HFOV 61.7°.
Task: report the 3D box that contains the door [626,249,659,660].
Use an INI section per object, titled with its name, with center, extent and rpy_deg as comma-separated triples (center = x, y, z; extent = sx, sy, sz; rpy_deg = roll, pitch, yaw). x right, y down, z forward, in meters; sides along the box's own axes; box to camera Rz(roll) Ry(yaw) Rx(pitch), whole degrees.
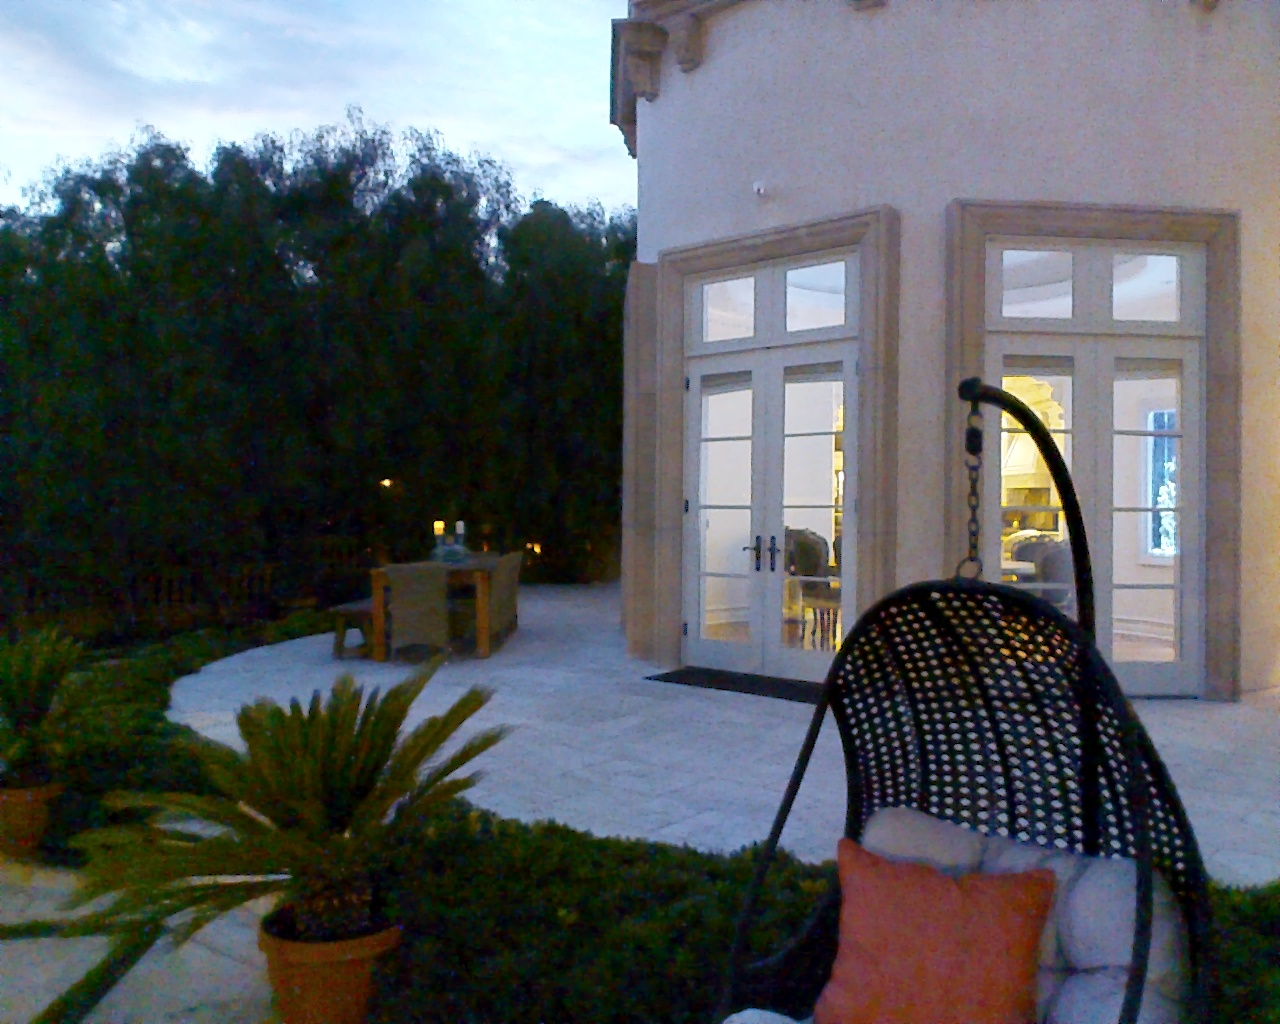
[door]
center = 0.010, -0.470, 9.570
extent = 0.210, 3.371, 1.530
rpy_deg = 0, 0, -3

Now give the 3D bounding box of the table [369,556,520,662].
[table]
center = -1.730, 0.850, 9.750
extent = 1.200, 0.840, 1.270
rpy_deg = 0, 0, -3
